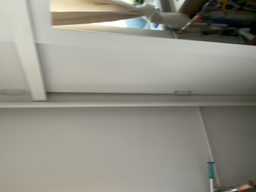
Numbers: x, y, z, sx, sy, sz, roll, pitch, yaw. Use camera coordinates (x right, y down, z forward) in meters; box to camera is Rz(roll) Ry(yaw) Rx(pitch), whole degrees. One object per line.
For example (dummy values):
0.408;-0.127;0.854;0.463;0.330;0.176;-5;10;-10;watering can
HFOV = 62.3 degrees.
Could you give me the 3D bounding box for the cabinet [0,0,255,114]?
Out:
0.270;-0.400;0.780;1.480;2.220;0.430;121;146;-61;cabinet
